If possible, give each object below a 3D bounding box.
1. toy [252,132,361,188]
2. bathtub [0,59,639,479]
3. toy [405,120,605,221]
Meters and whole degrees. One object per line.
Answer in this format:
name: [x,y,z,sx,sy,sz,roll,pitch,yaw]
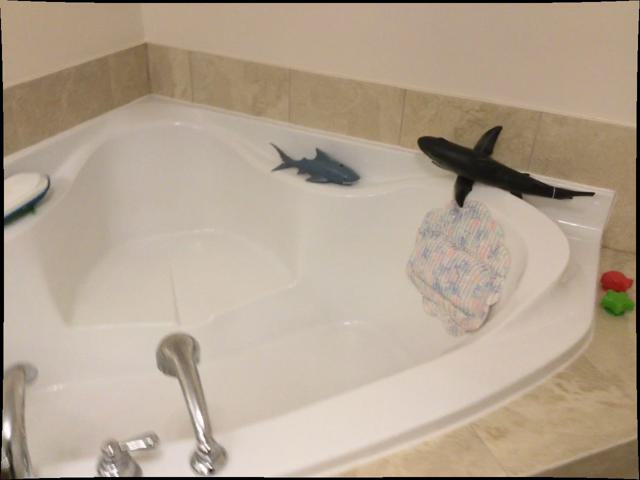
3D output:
toy: [-0.040,-0.230,1.630,0.290,0.070,0.100,15,35,18]
bathtub: [-0.260,0.190,1.360,2.009,0.700,1.440,-11,35,-20]
toy: [0.450,-0.180,1.420,0.440,0.110,0.150,15,35,18]
